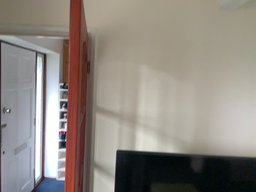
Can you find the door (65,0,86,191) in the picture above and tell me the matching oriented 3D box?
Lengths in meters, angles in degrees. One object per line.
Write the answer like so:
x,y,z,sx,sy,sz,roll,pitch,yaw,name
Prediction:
-0.270,0.620,1.090,0.040,2.050,0.720,2,5,-10,door
